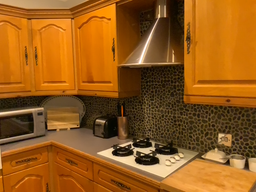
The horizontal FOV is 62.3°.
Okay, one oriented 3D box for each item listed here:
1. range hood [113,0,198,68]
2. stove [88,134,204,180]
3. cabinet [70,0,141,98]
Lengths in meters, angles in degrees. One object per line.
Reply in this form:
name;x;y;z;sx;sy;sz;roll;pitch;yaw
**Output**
range hood;0.190;-0.700;1.600;0.330;0.940;0.550;-7;8;-44
stove;0.130;0.420;1.630;0.690;0.020;0.560;4;8;43
cabinet;-0.220;-0.450;2.020;0.600;0.870;0.340;4;8;43
